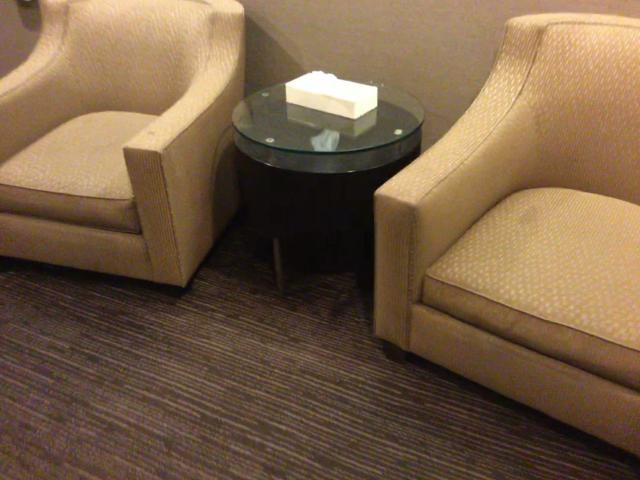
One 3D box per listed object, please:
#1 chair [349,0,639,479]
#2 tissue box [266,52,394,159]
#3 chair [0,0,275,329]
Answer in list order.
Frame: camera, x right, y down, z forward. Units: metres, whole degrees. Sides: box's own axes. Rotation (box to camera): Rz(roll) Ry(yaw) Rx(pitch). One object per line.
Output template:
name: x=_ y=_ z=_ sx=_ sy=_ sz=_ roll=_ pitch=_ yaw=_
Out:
chair: x=0.720 y=-0.070 z=1.580 sx=0.910 sy=0.930 sz=0.940 roll=19 pitch=36 yaw=32
tissue box: x=0.030 y=-0.440 z=1.860 sx=0.340 sy=0.230 sz=0.220 roll=15 pitch=34 yaw=18
chair: x=-0.720 y=-0.410 z=2.090 sx=0.880 sy=0.900 sz=0.980 roll=9 pitch=32 yaw=8
